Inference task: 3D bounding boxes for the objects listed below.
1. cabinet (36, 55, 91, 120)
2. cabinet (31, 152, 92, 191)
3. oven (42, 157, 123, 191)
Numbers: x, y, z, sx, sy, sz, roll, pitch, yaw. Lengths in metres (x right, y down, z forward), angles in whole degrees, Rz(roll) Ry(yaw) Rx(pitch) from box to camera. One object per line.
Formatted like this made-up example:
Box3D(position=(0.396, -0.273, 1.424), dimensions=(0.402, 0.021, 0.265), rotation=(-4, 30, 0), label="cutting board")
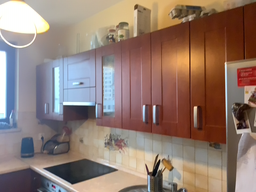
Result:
Box3D(position=(-0.860, -0.090, 2.760), dimensions=(0.370, 0.720, 0.760), rotation=(1, -1, -45), label="cabinet")
Box3D(position=(-0.750, 1.160, 2.460), dimensions=(0.620, 0.850, 0.270), rotation=(1, -1, -45), label="cabinet")
Box3D(position=(-0.460, 1.060, 2.170), dimensions=(0.620, 0.650, 0.540), rotation=(1, -1, -45), label="oven")
